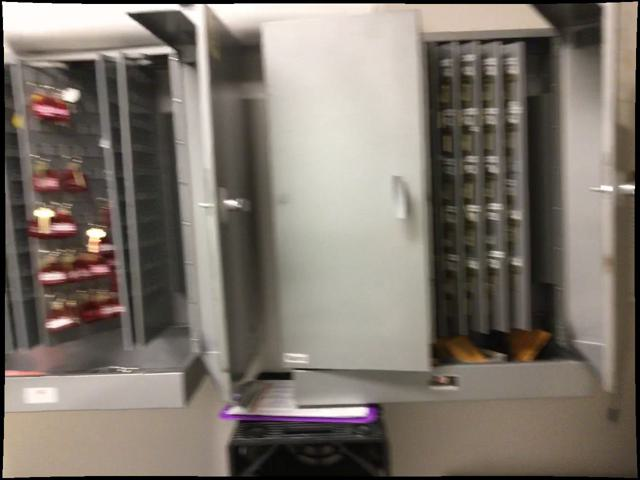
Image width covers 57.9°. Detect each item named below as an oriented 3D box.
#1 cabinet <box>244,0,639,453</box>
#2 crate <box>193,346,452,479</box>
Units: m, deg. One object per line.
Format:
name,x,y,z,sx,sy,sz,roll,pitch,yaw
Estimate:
cabinet,0.290,-0.120,1.170,0.779,0.881,0.480,-3,8,1
crate,0.030,0.791,1.270,0.420,0.961,0.530,-3,8,1
